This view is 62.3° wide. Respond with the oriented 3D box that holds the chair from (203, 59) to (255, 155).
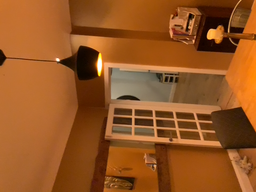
[{"bbox_3d":[1.200,0.110,1.720,0.490,0.900,0.570,-87,2,-49],"label":"chair"}]
